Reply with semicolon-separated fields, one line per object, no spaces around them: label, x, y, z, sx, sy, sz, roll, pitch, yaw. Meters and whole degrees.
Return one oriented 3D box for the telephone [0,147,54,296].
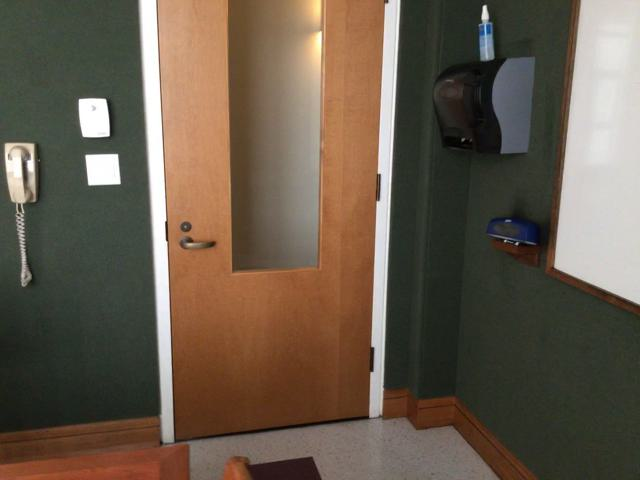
telephone;-1.080;-0.070;2.130;0.130;0.530;0.120;-2;12;-14
